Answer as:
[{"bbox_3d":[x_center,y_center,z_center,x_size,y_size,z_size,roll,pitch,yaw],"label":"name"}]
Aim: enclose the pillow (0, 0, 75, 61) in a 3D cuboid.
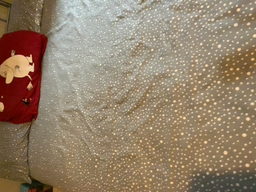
[{"bbox_3d":[-0.790,-0.570,1.640,0.590,0.450,0.160,-23,-14,-27],"label":"pillow"}]
